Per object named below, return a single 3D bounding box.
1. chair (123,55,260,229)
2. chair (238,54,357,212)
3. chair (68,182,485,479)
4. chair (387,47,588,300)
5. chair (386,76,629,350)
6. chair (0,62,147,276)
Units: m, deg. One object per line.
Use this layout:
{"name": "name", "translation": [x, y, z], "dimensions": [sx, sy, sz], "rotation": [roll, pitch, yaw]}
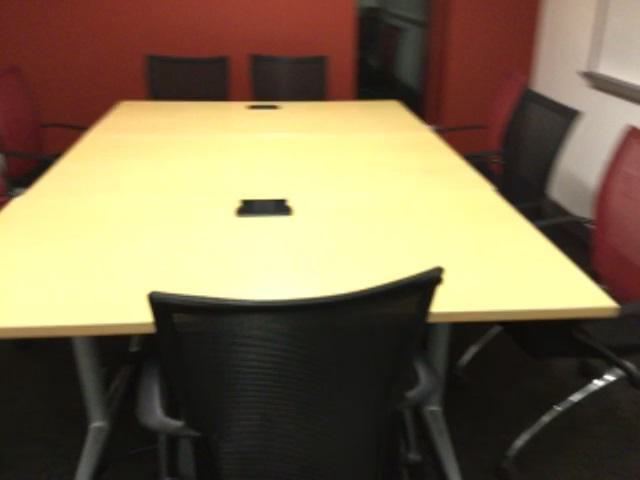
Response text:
{"name": "chair", "translation": [-0.660, -0.540, 3.160], "dimensions": [0.600, 0.860, 0.420], "rotation": [0, 24, -2]}
{"name": "chair", "translation": [-0.120, -0.610, 3.240], "dimensions": [0.590, 0.780, 0.500], "rotation": [0, 24, -2]}
{"name": "chair", "translation": [-0.070, 0.380, 1.260], "dimensions": [0.600, 0.880, 0.550], "rotation": [0, 24, -2]}
{"name": "chair", "translation": [0.680, -0.360, 2.710], "dimensions": [0.670, 0.960, 0.840], "rotation": [2, 24, 5]}
{"name": "chair", "translation": [0.650, -0.130, 2.290], "dimensions": [0.650, 0.930, 0.590], "rotation": [0, 24, -2]}
{"name": "chair", "translation": [-1.220, -0.360, 2.800], "dimensions": [0.520, 0.900, 0.580], "rotation": [0, 24, -2]}
